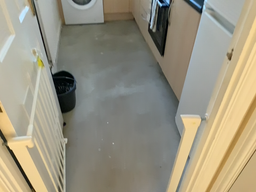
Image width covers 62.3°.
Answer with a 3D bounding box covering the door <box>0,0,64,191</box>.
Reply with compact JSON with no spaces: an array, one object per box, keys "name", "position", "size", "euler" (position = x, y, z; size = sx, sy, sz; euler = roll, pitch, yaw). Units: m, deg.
[{"name":"door","position":[-0.500,-0.310,0.880],"size":[0.050,1.980,0.920],"euler":[-5,41,-8]}]
